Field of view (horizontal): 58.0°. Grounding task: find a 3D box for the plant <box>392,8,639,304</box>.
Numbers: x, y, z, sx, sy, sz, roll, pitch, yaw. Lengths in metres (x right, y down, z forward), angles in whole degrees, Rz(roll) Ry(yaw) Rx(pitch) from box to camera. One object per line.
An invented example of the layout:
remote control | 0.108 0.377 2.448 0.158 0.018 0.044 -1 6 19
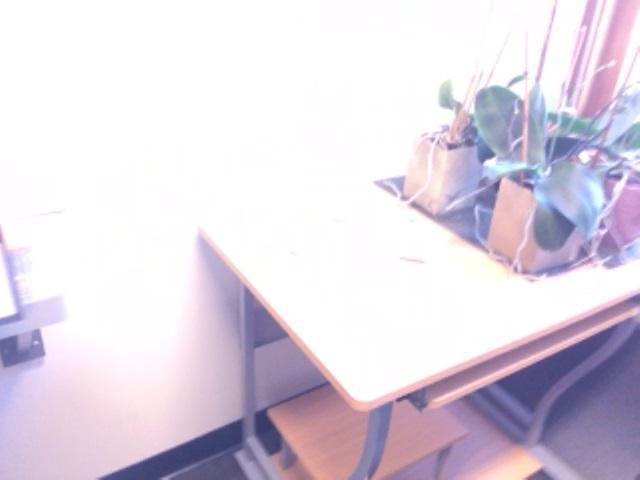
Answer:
plant | 0.450 -0.200 1.130 0.420 0.420 0.380 -14 33 -29

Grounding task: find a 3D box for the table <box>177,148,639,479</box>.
table | 0.230 0.320 1.360 0.890 0.790 0.660 -14 33 -29
